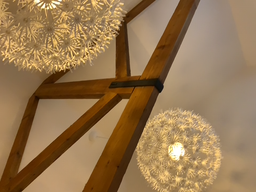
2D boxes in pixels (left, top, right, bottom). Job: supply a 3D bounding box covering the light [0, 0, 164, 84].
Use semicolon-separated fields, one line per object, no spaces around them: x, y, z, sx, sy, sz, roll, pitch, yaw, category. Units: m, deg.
-0.940;-0.620;1.550;1.100;2.110;0.900;1;-91;-49;light
